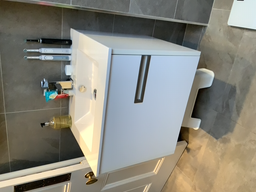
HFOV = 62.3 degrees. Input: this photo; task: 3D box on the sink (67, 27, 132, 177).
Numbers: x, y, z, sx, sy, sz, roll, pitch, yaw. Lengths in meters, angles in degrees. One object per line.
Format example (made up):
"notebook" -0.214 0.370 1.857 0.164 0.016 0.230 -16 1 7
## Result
"sink" -0.190 0.000 1.100 0.490 0.100 0.610 41 128 51
